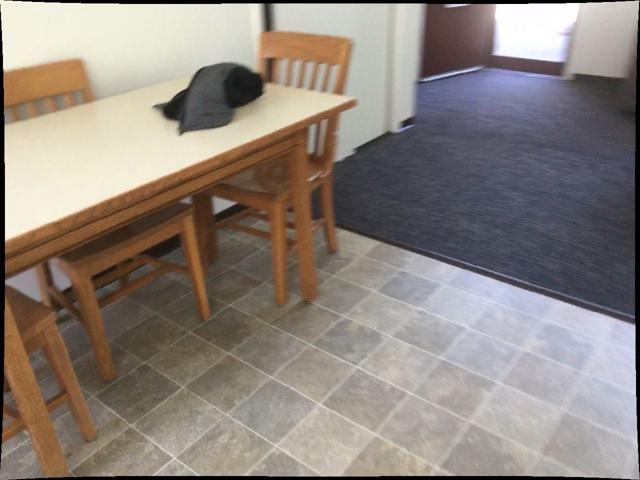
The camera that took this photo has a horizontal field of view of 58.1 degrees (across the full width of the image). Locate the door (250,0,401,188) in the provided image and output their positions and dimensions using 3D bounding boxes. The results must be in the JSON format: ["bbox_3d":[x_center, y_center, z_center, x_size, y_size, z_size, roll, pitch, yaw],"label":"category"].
[{"bbox_3d":[0.070,-1.352,3.000,0.140,1.912,1.100,20,37,34],"label":"door"}]

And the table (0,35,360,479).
[{"bbox_3d":[-0.629,-0.030,1.830,0.859,0.871,1.389,21,38,34],"label":"table"}]

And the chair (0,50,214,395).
[{"bbox_3d":[-0.769,-0.080,1.920,0.520,0.931,0.480,21,37,34],"label":"chair"}]

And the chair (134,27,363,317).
[{"bbox_3d":[-0.230,-0.300,2.280,0.540,0.891,0.610,20,37,34],"label":"chair"}]
